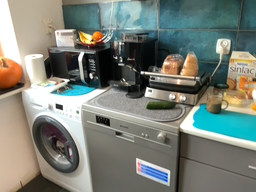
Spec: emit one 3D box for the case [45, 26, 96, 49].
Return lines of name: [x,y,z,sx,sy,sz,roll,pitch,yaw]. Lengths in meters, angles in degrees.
case: [-0.440,-0.470,1.670,0.160,0.130,0.360,12,27,30]
